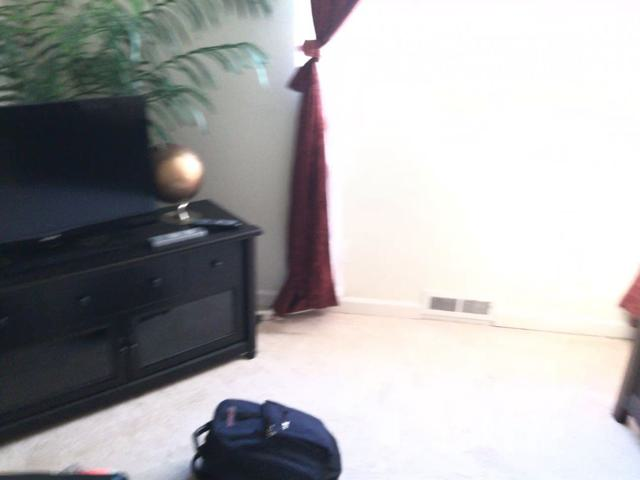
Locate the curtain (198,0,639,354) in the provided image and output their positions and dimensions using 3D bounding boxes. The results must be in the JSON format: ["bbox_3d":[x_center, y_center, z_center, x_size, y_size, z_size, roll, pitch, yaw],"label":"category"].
[{"bbox_3d":[0.670,-0.590,2.280,2.180,2.190,0.320,0,22,8],"label":"curtain"}]

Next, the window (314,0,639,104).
[{"bbox_3d":[0.770,-1.050,2.200,1.570,0.950,0.310,0,22,8],"label":"window"}]
